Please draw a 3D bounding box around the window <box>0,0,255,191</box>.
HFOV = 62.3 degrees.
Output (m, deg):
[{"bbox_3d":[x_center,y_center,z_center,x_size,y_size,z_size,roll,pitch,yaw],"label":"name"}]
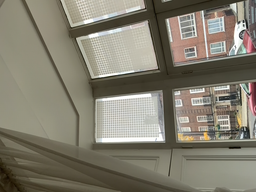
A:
[{"bbox_3d":[0.410,-0.370,1.100,1.070,2.270,1.980,-64,-38,-54],"label":"window"}]
